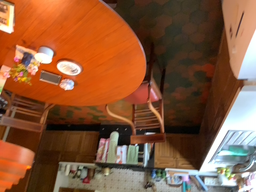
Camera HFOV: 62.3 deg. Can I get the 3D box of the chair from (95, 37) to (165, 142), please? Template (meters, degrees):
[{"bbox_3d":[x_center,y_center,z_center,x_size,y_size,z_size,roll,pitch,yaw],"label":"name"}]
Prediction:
[{"bbox_3d":[0.070,-0.040,2.290,0.480,0.910,0.550,-10,150,28],"label":"chair"}]
